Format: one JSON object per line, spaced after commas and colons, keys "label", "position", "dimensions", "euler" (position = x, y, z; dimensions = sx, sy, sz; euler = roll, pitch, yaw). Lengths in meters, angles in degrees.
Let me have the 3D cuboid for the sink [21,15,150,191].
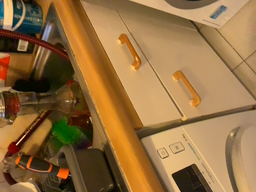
{"label": "sink", "position": [-0.220, 0.060, 0.800], "dimensions": [0.500, 0.170, 0.440], "euler": [-50, 57, 39]}
